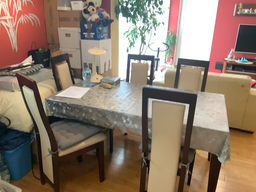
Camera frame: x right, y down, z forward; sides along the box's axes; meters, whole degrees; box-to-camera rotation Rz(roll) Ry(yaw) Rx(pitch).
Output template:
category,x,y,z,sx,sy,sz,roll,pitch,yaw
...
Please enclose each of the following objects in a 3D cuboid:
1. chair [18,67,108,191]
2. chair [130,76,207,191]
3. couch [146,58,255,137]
category,x,y,z,sx,sy,sz,roll,pitch,yaw
chair,-0.520,0.300,1.820,0.540,0.970,0.440,-15,26,-38
chair,0.310,0.390,1.680,0.440,0.970,0.470,9,22,18
couch,1.160,-0.080,3.330,1.490,0.750,0.960,10,22,21
